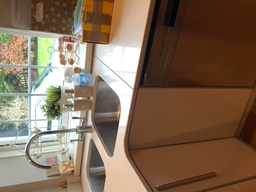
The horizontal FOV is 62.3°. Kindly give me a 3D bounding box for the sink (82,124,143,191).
[{"bbox_3d":[-0.130,0.470,1.340,0.460,0.180,0.400,42,126,56],"label":"sink"}]

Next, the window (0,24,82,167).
[{"bbox_3d":[-1.010,0.030,1.510,0.180,1.230,1.060,42,127,56],"label":"window"}]

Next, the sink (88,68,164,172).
[{"bbox_3d":[-0.050,0.100,1.210,0.460,0.200,0.400,42,126,56],"label":"sink"}]
